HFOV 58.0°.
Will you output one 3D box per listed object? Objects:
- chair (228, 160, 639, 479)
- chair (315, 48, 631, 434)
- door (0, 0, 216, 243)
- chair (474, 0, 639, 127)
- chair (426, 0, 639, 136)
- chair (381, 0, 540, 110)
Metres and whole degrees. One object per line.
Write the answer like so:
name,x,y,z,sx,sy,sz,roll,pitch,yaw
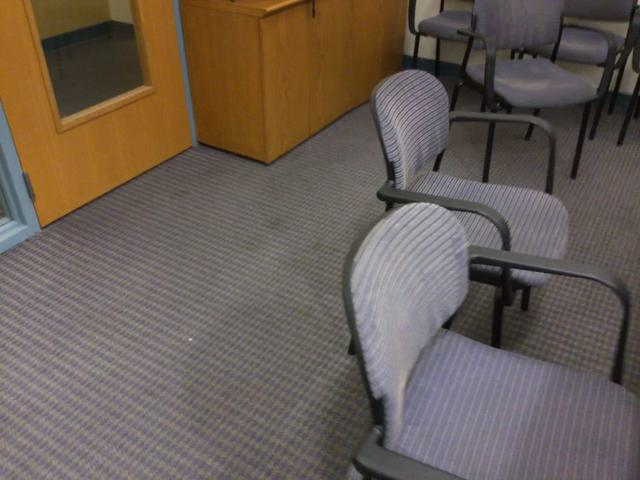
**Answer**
chair,0.280,0.370,1.030,0.620,0.720,0.550,22,41,25
chair,0.400,-0.030,1.670,0.590,0.780,0.590,22,41,25
door,-0.870,-0.930,2.170,0.170,1.630,1.050,22,41,25
chair,1.290,-1.110,2.990,0.660,0.710,0.640,22,41,25
chair,0.900,-0.830,2.480,0.610,0.470,0.630,-9,37,-14
chair,0.810,-1.270,3.240,0.640,0.760,0.660,22,41,25
